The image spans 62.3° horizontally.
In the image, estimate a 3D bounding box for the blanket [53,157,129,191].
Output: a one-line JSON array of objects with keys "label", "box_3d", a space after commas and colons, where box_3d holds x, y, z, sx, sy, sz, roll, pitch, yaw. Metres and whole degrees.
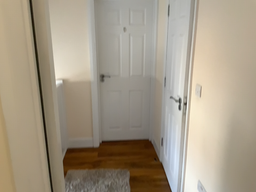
[{"label": "blanket", "box_3d": [-0.360, 0.980, 2.040, 0.740, 0.050, 1.320, 0, 16, -2]}]
